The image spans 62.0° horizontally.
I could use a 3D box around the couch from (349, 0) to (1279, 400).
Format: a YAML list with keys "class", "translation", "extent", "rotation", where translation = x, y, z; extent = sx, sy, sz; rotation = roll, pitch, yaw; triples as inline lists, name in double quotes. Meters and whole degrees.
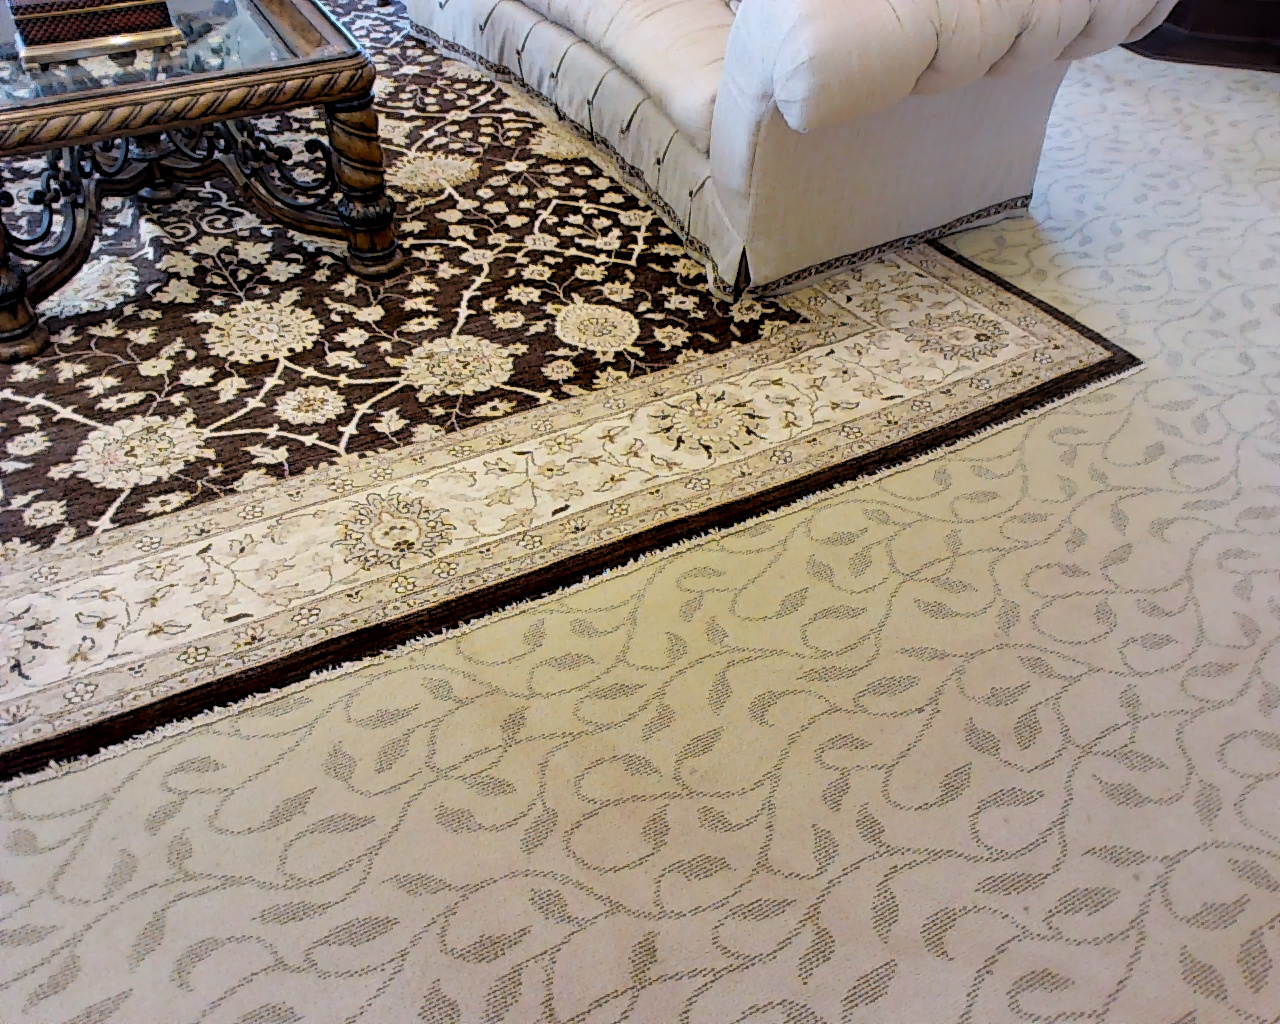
- class: "couch"
  translation: [0.230, -1.820, 3.410]
  extent: [1.510, 1.090, 3.110]
  rotation: [-21, 46, -22]

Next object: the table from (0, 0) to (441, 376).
- class: "table"
  translation: [-1.440, -1.180, 3.060]
  extent: [1.150, 0.570, 1.620]
  rotation: [-20, 46, -22]
